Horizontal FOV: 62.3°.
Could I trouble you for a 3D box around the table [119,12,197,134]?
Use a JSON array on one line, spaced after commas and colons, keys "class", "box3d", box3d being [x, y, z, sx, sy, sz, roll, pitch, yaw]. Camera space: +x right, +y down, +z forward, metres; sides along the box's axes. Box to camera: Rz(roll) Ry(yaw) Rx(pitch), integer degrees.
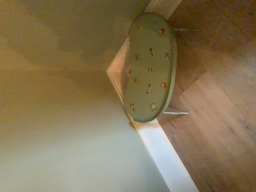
[{"class": "table", "box3d": [0.160, -0.140, 1.280, 0.370, 0.210, 0.620, 14, 104, 47]}]
